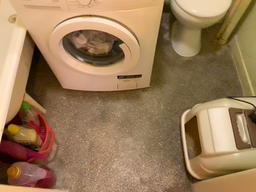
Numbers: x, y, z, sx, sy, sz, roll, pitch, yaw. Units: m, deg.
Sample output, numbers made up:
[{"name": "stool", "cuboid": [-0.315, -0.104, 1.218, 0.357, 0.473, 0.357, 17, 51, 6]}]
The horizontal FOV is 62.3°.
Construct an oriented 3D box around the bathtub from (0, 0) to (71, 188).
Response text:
[{"name": "bathtub", "cuboid": [-0.810, -0.230, 1.210, 0.700, 0.610, 1.380, -1, 65, -1]}]
